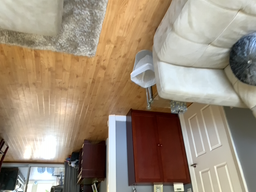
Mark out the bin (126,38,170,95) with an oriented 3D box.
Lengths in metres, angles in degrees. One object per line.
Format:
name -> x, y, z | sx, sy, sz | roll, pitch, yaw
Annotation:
bin -> 0.180, -0.290, 2.150 | 0.330, 0.460, 0.290 | 4, 150, -13
